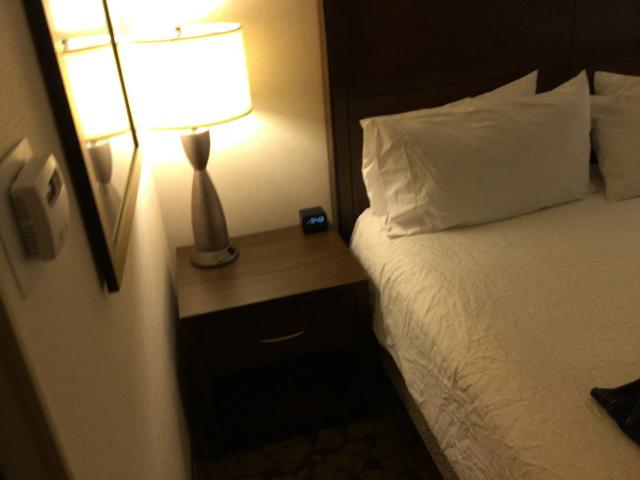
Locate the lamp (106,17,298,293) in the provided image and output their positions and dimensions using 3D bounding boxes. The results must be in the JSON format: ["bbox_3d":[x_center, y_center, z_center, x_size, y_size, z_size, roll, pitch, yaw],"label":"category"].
[{"bbox_3d":[-0.360,-0.280,1.890,0.370,0.750,0.370,-15,28,-6],"label":"lamp"}]

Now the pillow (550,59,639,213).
[{"bbox_3d":[1.340,-0.450,2.110,0.830,0.370,0.420,-15,28,-6],"label":"pillow"}]

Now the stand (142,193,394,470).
[{"bbox_3d":[-0.190,0.300,2.120,0.690,0.620,0.590,-15,28,-6],"label":"stand"}]

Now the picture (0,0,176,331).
[{"bbox_3d":[-0.480,-0.410,1.190,0.110,0.840,0.880,-15,28,-6],"label":"picture"}]

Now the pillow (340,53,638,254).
[{"bbox_3d":[0.550,-0.320,1.980,0.830,0.380,0.430,-15,28,-6],"label":"pillow"}]
